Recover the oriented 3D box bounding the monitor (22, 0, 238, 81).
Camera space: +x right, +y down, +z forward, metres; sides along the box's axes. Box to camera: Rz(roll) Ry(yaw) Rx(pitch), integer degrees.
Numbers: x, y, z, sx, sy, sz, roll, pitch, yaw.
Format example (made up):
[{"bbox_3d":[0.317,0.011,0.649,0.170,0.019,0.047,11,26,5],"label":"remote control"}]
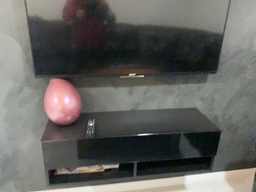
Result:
[{"bbox_3d":[0.050,-0.410,1.150,1.140,0.650,0.030,-2,23,-10],"label":"monitor"}]
